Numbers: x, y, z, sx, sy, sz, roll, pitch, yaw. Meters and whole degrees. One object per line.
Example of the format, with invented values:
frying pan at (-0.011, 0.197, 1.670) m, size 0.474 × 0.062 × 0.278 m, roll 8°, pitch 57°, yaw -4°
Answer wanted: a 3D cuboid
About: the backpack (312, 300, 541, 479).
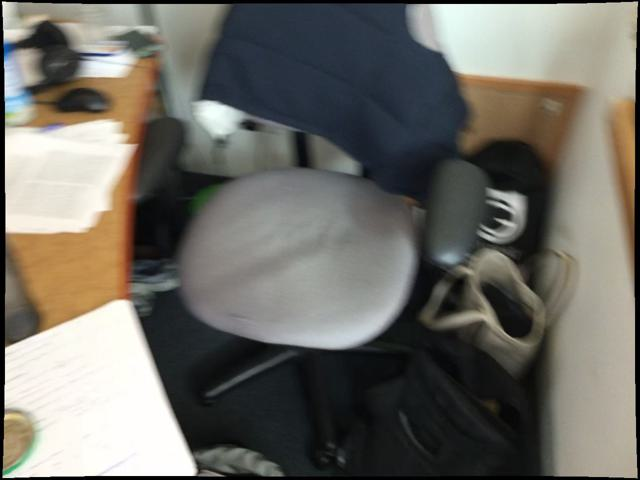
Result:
backpack at (0.240, 0.410, 1.340) m, size 0.440 × 0.300 × 0.360 m, roll 9°, pitch 48°, yaw 9°
